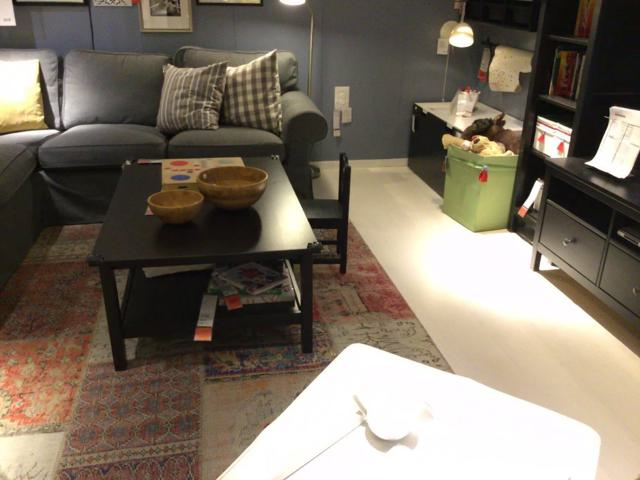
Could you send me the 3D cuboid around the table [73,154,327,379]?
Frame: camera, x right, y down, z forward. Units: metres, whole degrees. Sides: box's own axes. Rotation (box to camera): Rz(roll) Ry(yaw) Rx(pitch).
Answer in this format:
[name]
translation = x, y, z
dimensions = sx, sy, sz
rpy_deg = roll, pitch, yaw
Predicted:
[table]
translation = -0.480, 0.020, 2.470
dimensions = 0.800, 0.510, 1.140
rpy_deg = -1, 22, -10
